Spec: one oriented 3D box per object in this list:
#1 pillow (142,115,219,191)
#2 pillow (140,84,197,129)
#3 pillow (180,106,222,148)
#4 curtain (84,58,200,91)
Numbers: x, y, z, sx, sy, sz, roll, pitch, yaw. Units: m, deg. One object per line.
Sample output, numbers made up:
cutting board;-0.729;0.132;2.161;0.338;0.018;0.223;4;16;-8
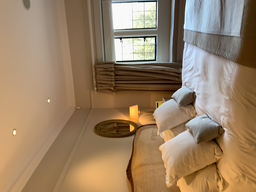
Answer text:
pillow;0.560;0.510;2.140;0.750;0.550;0.270;-32;-52;-56
pillow;0.590;0.120;3.030;0.650;0.560;0.290;-30;-53;-48
pillow;0.700;0.280;2.030;0.420;0.210;0.180;-25;-57;-43
curtain;0.280;-0.470;4.530;0.370;2.320;0.580;-88;-3;-70
